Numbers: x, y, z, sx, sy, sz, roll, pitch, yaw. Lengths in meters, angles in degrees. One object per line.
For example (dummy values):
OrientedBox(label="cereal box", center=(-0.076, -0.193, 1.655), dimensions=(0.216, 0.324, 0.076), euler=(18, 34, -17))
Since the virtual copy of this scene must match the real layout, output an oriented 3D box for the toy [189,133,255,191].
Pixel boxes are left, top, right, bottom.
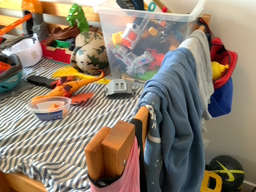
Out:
OrientedBox(label="toy", center=(0.570, 0.530, 1.280), dimensions=(0.330, 0.360, 0.390), euler=(15, 38, 20))
